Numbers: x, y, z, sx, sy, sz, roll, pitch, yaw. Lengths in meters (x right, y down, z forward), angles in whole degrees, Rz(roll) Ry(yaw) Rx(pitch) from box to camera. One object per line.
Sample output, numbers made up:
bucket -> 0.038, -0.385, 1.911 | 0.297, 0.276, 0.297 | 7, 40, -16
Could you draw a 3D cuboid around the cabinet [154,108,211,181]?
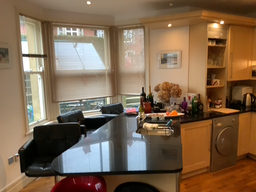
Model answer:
cabinet -> 0.810, 0.690, 3.250 | 0.580, 0.870, 0.590 | -5, 9, -26
